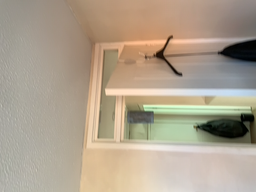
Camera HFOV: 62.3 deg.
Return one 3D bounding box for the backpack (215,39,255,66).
[{"bbox_3d":[0.750,-0.270,1.270,0.320,0.350,0.130,-65,-25,-72],"label":"backpack"}]
